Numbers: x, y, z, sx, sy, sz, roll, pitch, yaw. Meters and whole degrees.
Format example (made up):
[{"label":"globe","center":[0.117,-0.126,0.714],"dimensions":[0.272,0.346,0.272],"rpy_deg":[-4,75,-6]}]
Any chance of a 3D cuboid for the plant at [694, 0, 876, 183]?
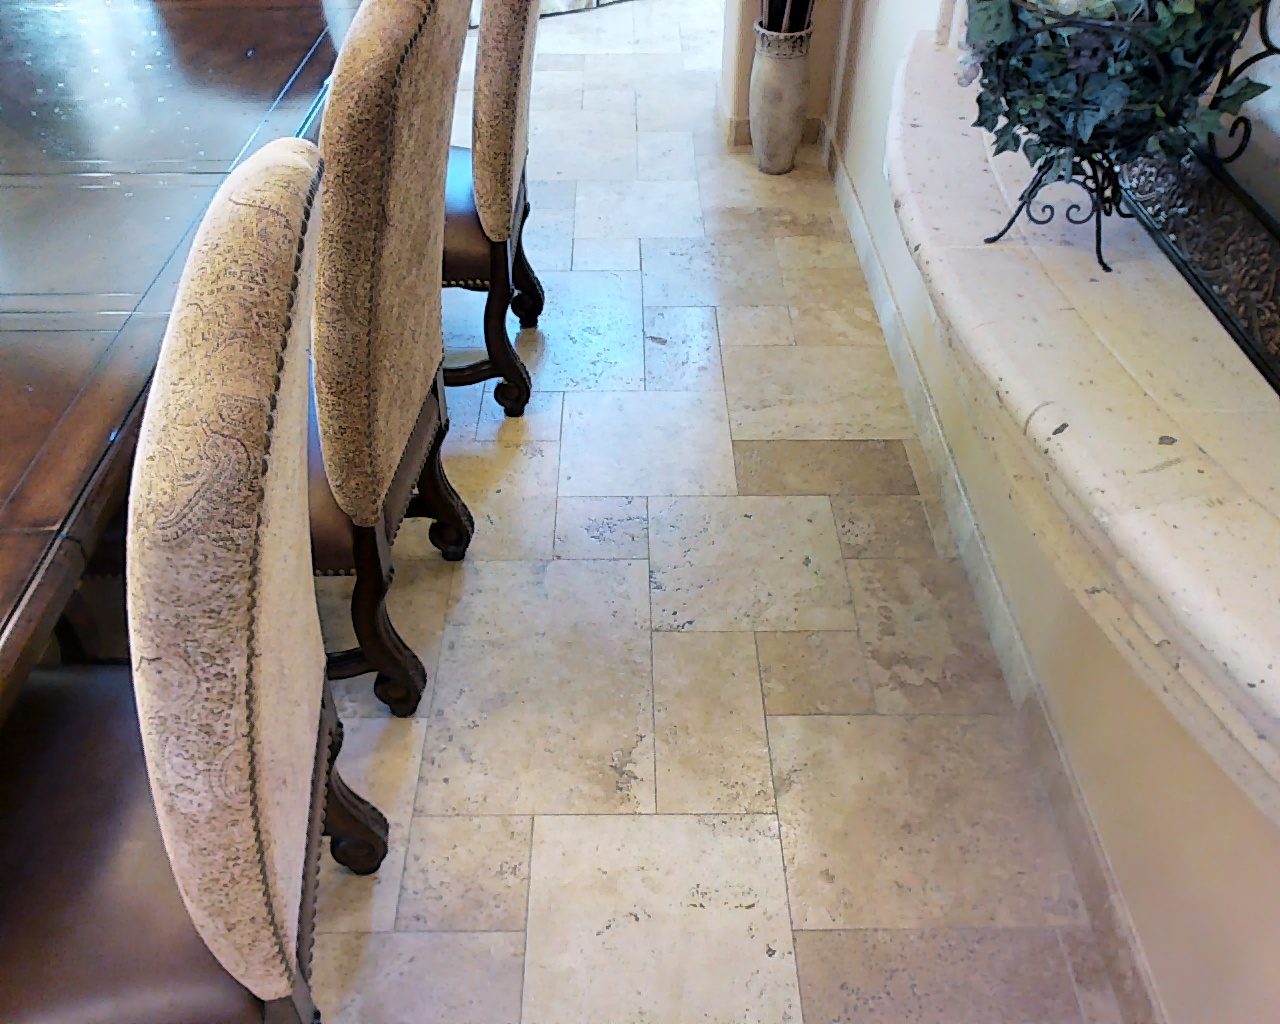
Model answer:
[{"label":"plant","center":[0.440,-1.879,3.080],"dimensions":[0.490,1.750,0.460],"rpy_deg":[0,42,0]}]
